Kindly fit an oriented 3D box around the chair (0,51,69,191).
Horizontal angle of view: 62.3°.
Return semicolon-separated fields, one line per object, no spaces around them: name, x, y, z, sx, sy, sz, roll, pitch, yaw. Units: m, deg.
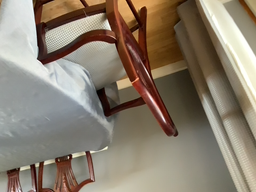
chair;-0.850;0.260;1.630;0.460;0.940;0.600;-18;145;16

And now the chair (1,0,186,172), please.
chair;-0.130;-0.210;1.070;0.500;0.960;0.500;-20;144;18
